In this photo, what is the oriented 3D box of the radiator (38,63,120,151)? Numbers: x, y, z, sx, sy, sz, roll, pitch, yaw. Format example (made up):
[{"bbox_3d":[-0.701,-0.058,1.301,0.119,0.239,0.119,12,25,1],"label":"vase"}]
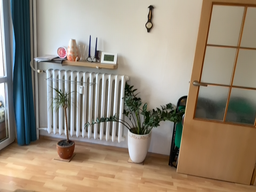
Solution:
[{"bbox_3d":[-0.660,0.140,2.860,0.990,1.040,0.280,6,14,5],"label":"radiator"}]

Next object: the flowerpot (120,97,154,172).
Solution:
[{"bbox_3d":[0.120,0.440,2.580,0.290,0.750,0.450,7,14,8],"label":"flowerpot"}]
